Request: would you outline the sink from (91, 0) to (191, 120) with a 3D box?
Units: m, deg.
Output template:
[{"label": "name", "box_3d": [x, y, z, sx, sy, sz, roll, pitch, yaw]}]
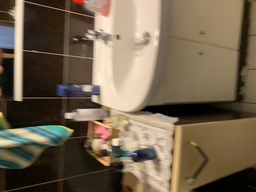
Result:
[{"label": "sink", "box_3d": [0.040, -0.270, 0.970, 0.380, 0.250, 0.680, 9, 97, 54]}]

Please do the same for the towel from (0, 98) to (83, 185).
[{"label": "towel", "box_3d": [-0.530, 0.170, 0.790, 0.080, 0.730, 0.320, 7, 96, 54]}]
